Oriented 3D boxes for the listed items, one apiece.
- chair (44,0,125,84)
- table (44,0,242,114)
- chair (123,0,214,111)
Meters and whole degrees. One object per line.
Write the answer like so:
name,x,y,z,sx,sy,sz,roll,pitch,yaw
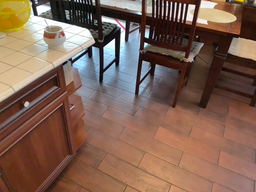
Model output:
chair,-0.420,-0.760,2.230,0.580,1.010,0.540,20,41,18
table,0.150,-0.650,2.340,1.770,0.780,0.910,19,40,17
chair,0.350,-0.480,1.970,0.560,1.010,0.530,20,41,18
